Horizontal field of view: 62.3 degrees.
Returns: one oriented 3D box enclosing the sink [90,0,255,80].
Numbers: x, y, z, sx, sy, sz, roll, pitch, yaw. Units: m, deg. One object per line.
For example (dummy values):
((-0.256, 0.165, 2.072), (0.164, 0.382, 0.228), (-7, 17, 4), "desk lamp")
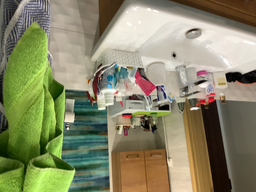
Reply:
((0.310, -0.230, 0.910), (0.860, 0.130, 0.370), (4, 164, -27), "sink")
